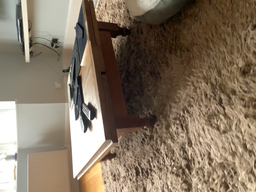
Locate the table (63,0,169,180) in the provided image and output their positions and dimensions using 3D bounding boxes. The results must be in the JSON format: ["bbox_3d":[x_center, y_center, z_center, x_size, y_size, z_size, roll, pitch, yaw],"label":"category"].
[{"bbox_3d":[-0.190,0.040,1.320,0.890,0.280,0.740,126,137,-54],"label":"table"}]
